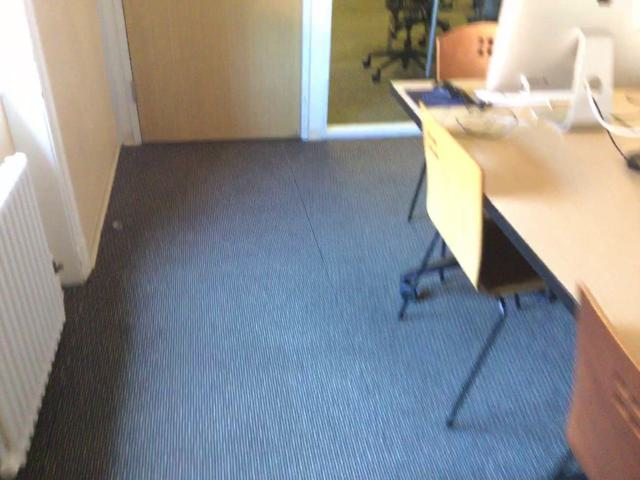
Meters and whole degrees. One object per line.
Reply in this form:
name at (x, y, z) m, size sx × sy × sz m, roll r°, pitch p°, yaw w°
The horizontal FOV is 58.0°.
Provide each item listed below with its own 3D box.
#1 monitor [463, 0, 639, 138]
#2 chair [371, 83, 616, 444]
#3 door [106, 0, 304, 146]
monitor at (0.700, -0.540, 1.570) m, size 0.520 × 0.440 × 0.190 m, roll -6°, pitch 34°, yaw -9°
chair at (0.400, 0.070, 1.610) m, size 0.370 × 0.860 × 0.460 m, roll -6°, pitch 34°, yaw -9°
door at (-0.550, -0.960, 2.940) m, size 0.910 × 0.910 × 0.110 m, roll -6°, pitch 34°, yaw -9°
